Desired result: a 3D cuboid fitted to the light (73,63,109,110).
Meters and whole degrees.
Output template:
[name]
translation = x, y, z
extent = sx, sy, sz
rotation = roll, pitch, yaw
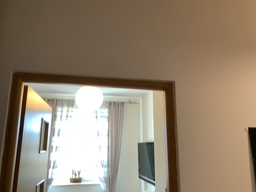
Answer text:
[light]
translation = -0.550, -0.120, 3.100
extent = 0.450, 0.410, 0.570
rotation = 4, -103, -17
